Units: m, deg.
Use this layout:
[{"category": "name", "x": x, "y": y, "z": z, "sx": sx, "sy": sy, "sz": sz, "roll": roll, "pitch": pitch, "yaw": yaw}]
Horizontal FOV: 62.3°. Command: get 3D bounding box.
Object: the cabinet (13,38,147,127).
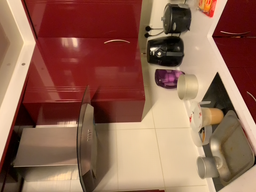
[{"category": "cabinet", "x": -0.340, "y": -0.130, "z": 1.760, "sx": 0.390, "sy": 0.880, "sz": 0.620, "roll": 95, "pitch": 172, "yaw": -51}]
